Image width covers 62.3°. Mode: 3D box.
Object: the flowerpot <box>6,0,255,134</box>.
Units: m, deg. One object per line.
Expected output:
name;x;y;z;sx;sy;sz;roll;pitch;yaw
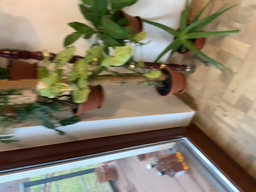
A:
flowerpot;0.070;-0.350;1.310;0.620;1.370;0.780;42;124;47
